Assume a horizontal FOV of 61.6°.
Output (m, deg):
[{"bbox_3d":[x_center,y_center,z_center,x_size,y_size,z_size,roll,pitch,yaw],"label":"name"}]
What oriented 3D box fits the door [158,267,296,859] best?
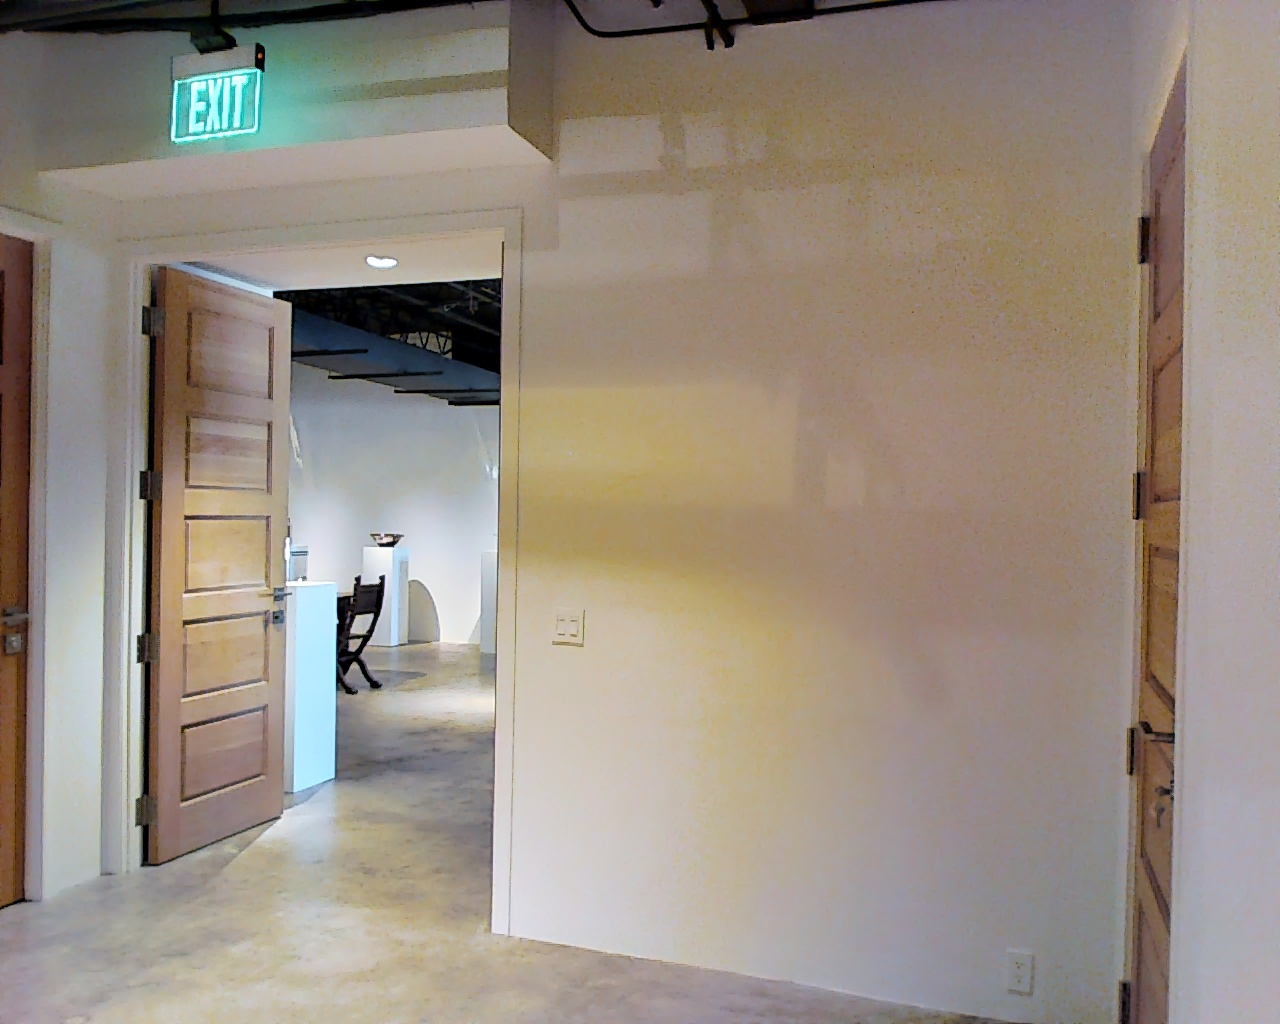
[{"bbox_3d":[-1.790,0.210,4.710,0.030,2.400,0.750,1,0,21],"label":"door"}]
